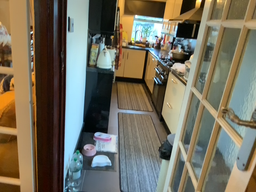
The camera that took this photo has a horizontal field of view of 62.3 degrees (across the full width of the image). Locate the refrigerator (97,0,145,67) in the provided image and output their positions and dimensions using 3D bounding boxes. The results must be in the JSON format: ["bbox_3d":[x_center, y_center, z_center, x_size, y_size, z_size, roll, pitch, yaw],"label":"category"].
[{"bbox_3d":[-0.160,-1.650,5.160,0.760,1.760,0.920,9,16,29],"label":"refrigerator"}]
